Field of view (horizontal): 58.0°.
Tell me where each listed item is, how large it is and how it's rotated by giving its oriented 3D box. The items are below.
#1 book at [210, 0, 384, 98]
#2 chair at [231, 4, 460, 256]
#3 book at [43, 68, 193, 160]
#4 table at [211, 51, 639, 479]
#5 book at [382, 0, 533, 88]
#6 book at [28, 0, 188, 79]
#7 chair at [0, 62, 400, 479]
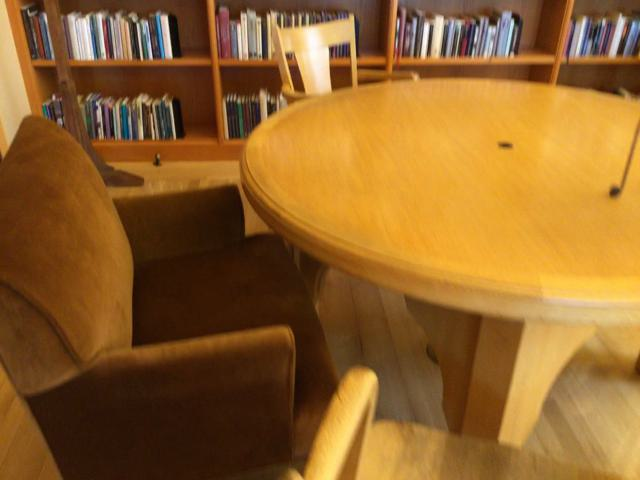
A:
[{"bbox_3d":[-0.120,-1.090,3.170,0.870,0.440,0.440,-5,31,-3],"label":"book"},{"bbox_3d":[0.110,-0.540,2.630,0.710,0.850,0.650,-20,35,-26],"label":"chair"},{"bbox_3d":[-1.120,-0.730,3.310,0.690,0.360,0.390,-5,31,-3],"label":"book"},{"bbox_3d":[0.510,0.040,1.780,1.470,0.800,1.430,-5,31,-3],"label":"table"},{"bbox_3d":[0.730,-1.120,3.190,0.730,0.430,0.300,-5,31,-3],"label":"book"},{"bbox_3d":[-1.100,-1.100,3.100,0.690,0.320,0.390,-5,31,-3],"label":"book"},{"bbox_3d":[-0.350,0.160,1.450,0.800,0.910,0.880,-10,32,-12],"label":"chair"}]
